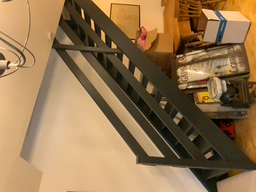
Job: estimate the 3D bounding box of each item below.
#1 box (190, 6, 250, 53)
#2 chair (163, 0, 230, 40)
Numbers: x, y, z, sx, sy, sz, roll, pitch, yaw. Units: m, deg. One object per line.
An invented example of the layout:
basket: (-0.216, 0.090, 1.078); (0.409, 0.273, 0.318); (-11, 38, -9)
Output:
box: (1.240, -0.930, 2.950); (0.440, 0.530, 0.470); (-90, 4, -53)
chair: (1.080, -1.350, 3.500); (0.560, 0.860, 0.500); (100, 174, -64)
